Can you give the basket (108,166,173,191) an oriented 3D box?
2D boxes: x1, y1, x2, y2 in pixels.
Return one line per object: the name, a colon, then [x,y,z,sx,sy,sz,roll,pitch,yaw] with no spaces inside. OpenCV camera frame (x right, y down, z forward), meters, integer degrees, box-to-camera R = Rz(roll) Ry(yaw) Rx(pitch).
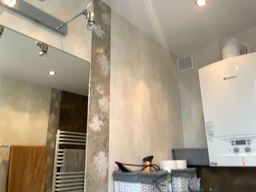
basket: [0.080,0.510,1.210,0.200,0.200,0.340,-14,-21,38]
